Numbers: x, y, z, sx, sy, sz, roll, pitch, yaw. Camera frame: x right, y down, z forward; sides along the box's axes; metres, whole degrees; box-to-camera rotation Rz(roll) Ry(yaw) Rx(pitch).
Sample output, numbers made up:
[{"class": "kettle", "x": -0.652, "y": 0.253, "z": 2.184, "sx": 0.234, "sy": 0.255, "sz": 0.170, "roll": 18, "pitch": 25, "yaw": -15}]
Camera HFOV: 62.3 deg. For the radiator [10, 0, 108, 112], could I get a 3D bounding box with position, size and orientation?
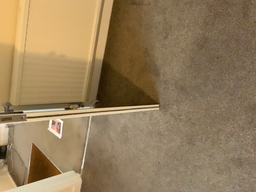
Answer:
[{"class": "radiator", "x": -0.390, "y": -0.760, "z": 1.460, "sx": 0.080, "sy": 0.610, "sz": 1.780, "roll": 23, "pitch": 106, "yaw": 40}]
